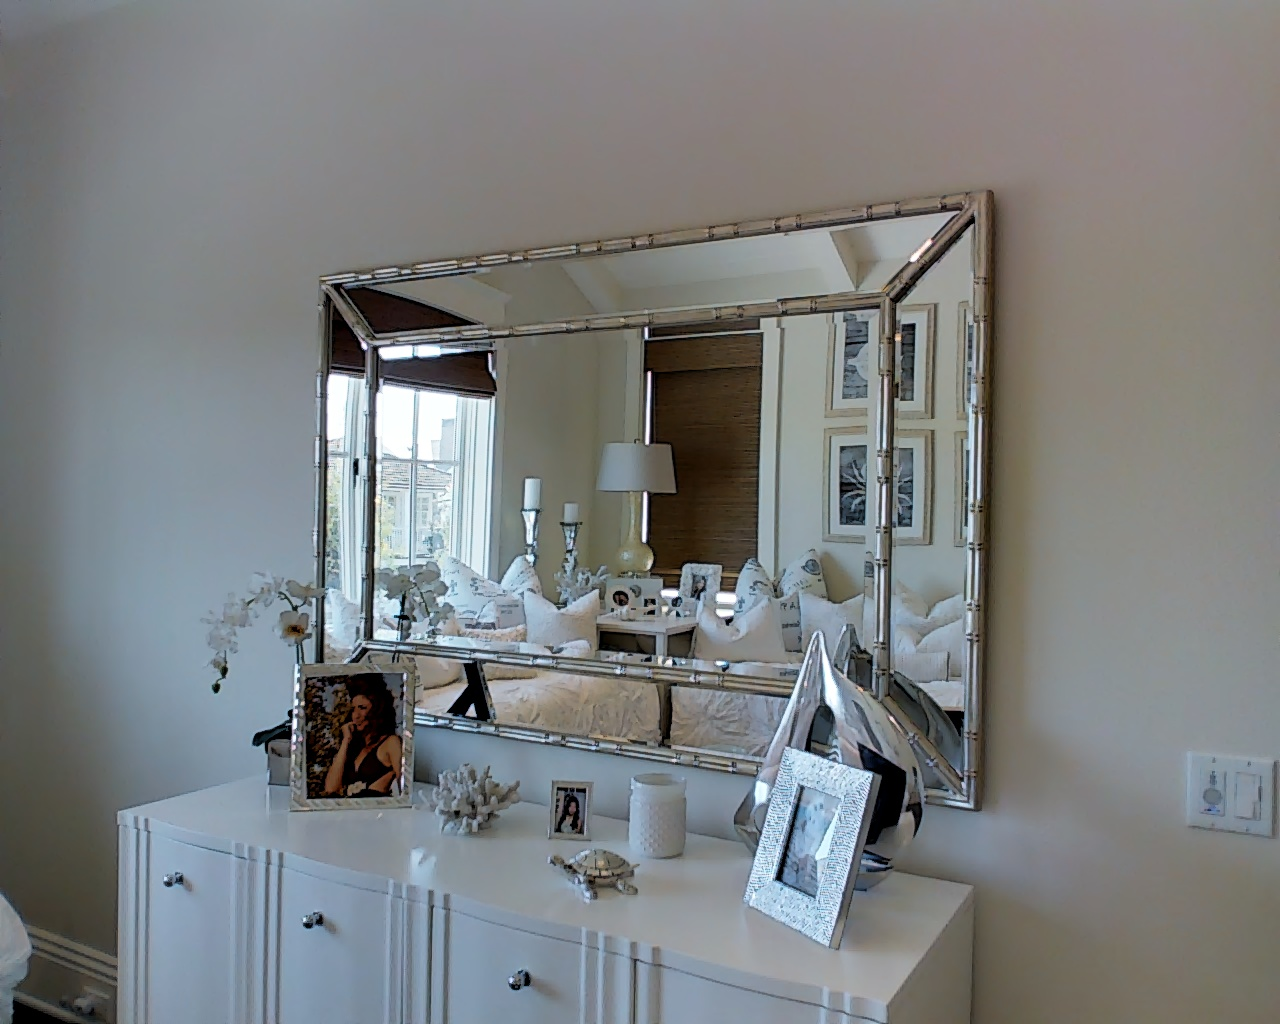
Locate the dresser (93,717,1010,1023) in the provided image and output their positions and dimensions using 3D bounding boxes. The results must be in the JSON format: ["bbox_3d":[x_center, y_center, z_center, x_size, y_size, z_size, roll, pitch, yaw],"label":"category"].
[{"bbox_3d":[-0.230,0.990,1.930,1.599,0.980,0.560,1,0,30],"label":"dresser"}]
